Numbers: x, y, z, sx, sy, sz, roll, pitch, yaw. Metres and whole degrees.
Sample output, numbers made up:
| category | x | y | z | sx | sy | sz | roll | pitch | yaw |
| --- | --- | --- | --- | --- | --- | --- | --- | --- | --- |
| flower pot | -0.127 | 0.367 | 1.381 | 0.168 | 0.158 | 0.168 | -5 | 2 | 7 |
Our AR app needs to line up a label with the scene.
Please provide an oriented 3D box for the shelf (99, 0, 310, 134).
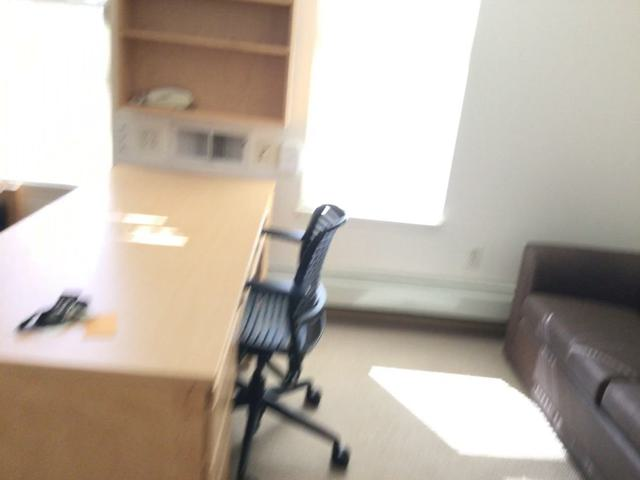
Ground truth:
| category | x | y | z | sx | sy | sz | roll | pitch | yaw |
| --- | --- | --- | --- | --- | --- | --- | --- | --- | --- |
| shelf | -0.480 | -1.110 | 2.540 | 0.870 | 1.200 | 0.340 | 2 | 18 | -3 |

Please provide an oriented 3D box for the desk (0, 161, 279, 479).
| category | x | y | z | sx | sy | sz | roll | pitch | yaw |
| --- | --- | --- | --- | --- | --- | --- | --- | --- | --- |
| desk | -0.610 | 0.260 | 2.070 | 0.860 | 0.730 | 1.860 | 2 | 18 | -3 |

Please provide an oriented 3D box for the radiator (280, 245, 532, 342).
| category | x | y | z | sx | sy | sz | roll | pitch | yaw |
| --- | --- | --- | --- | --- | --- | --- | --- | --- | --- |
| radiator | 0.410 | 0.270 | 2.950 | 1.210 | 0.390 | 0.260 | 2 | 18 | -3 |
